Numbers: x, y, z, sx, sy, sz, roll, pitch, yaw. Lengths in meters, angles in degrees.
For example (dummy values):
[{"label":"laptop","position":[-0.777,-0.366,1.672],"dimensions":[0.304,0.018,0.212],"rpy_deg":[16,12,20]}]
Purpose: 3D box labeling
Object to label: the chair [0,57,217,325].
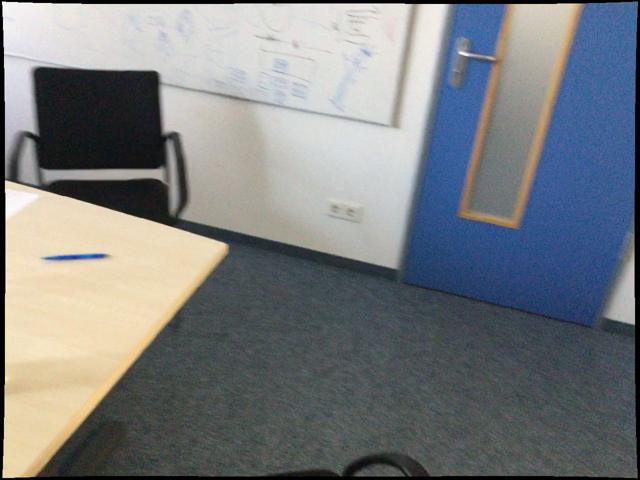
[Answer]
[{"label":"chair","position":[-0.759,-0.220,2.120],"dimensions":[0.659,0.701,0.700],"rpy_deg":[-4,33,-16]}]
